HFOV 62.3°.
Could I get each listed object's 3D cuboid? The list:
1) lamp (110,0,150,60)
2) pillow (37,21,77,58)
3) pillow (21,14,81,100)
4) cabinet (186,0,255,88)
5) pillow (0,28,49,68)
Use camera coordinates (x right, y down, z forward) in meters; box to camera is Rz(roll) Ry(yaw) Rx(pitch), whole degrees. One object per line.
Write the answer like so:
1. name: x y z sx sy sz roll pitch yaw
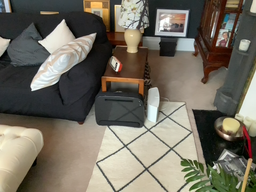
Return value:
1. lamp: 0.030 -0.780 2.310 0.380 0.630 0.370 5 36 5
2. pillow: -0.740 -0.590 2.230 0.330 0.330 0.170 4 -4 9
3. pillow: -0.660 -0.320 1.940 0.200 0.600 0.550 4 -13 8
4. cabinet: 1.200 -1.160 2.650 0.480 1.880 0.960 4 36 3
5. pillow: -1.100 -0.510 2.270 0.420 0.380 0.120 5 -5 4
